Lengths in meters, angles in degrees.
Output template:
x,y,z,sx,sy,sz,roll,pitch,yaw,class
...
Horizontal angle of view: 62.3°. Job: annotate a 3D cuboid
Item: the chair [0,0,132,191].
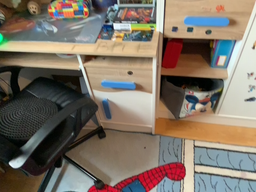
x,y,z,sx,sy,sz,roll,pitch,yaw,class
-0.450,0.120,1.070,0.620,1.030,0.660,28,56,26,chair
